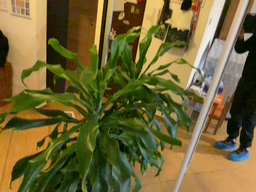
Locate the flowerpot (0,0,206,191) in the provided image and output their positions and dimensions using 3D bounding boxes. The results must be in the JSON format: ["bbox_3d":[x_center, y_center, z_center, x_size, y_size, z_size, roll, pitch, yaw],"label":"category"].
[{"bbox_3d":[-0.340,0.280,1.200,0.950,1.440,0.820,22,27,22],"label":"flowerpot"}]
